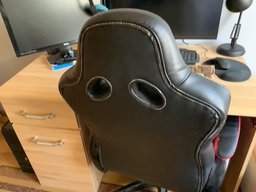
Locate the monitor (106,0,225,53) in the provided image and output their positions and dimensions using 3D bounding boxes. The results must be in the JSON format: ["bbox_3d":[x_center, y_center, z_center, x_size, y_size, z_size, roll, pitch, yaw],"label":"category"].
[{"bbox_3d":[0.190,-0.460,1.170,0.610,0.430,0.060,4,36,11],"label":"monitor"}]

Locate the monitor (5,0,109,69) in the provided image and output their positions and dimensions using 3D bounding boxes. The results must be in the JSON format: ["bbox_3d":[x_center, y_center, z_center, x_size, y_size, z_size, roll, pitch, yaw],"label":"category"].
[{"bbox_3d":[-0.340,-0.380,1.140,0.490,0.390,0.040,-17,40,-23],"label":"monitor"}]
